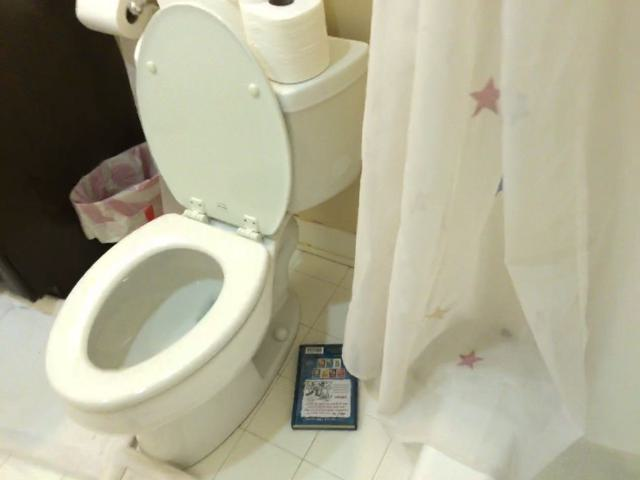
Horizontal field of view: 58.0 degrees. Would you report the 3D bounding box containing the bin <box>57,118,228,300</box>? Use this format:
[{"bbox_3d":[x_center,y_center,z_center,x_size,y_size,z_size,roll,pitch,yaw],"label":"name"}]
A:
[{"bbox_3d":[-0.460,-0.090,1.580,0.190,0.310,0.350,17,51,22],"label":"bin"}]

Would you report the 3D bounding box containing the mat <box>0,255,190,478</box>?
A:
[{"bbox_3d":[-0.680,0.280,1.450,0.540,0.080,0.480,9,48,15],"label":"mat"}]

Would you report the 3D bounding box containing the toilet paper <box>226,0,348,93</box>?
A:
[{"bbox_3d":[-0.050,-0.350,0.980,0.140,0.120,0.140,17,51,22],"label":"toilet paper"}]

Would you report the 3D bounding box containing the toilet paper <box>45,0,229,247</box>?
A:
[{"bbox_3d":[-0.420,-0.300,1.450,0.180,0.690,0.170,17,51,22],"label":"toilet paper"}]
